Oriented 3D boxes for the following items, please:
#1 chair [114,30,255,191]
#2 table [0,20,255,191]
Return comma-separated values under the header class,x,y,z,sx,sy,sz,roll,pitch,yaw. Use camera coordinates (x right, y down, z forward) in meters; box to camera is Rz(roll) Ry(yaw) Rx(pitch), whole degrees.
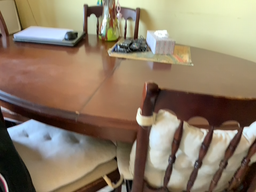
class,x,y,z,sx,sy,sz,roll,pitch,yaw
chair,0.200,0.270,0.920,0.500,0.930,0.570,3,30,-3
table,-0.070,0.130,1.270,1.610,0.780,1.040,12,31,14
